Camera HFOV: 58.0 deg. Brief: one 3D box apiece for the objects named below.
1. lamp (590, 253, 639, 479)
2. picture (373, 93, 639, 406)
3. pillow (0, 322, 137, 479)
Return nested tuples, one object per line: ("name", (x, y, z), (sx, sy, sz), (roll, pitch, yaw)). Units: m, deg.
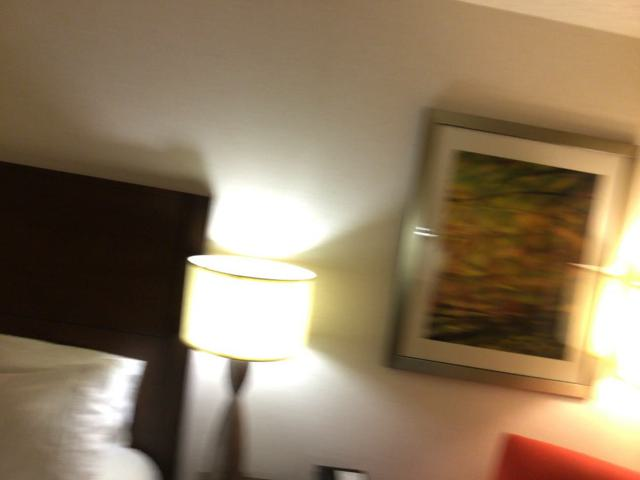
("lamp", (1.150, 0.420, 1.840), (0.370, 0.680, 0.380), (9, 5, 16))
("picture", (0.660, 0.050, 1.990), (0.820, 0.960, 0.110), (7, 5, -6))
("pillow", (-1.020, 0.470, 1.680), (0.830, 0.370, 0.420), (7, 5, -6))
